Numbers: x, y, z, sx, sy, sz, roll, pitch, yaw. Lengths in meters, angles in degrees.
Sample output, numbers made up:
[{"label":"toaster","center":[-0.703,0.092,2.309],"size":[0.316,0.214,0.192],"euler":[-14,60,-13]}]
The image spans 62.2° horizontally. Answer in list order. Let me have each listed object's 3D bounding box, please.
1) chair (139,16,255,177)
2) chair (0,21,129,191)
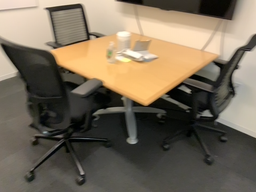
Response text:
[{"label":"chair","center":[0.630,-0.050,1.890],"size":[0.680,1.080,0.720],"euler":[25,37,31]},{"label":"chair","center":[-0.540,0.070,1.620],"size":[0.760,1.030,0.730],"euler":[21,35,28]}]
